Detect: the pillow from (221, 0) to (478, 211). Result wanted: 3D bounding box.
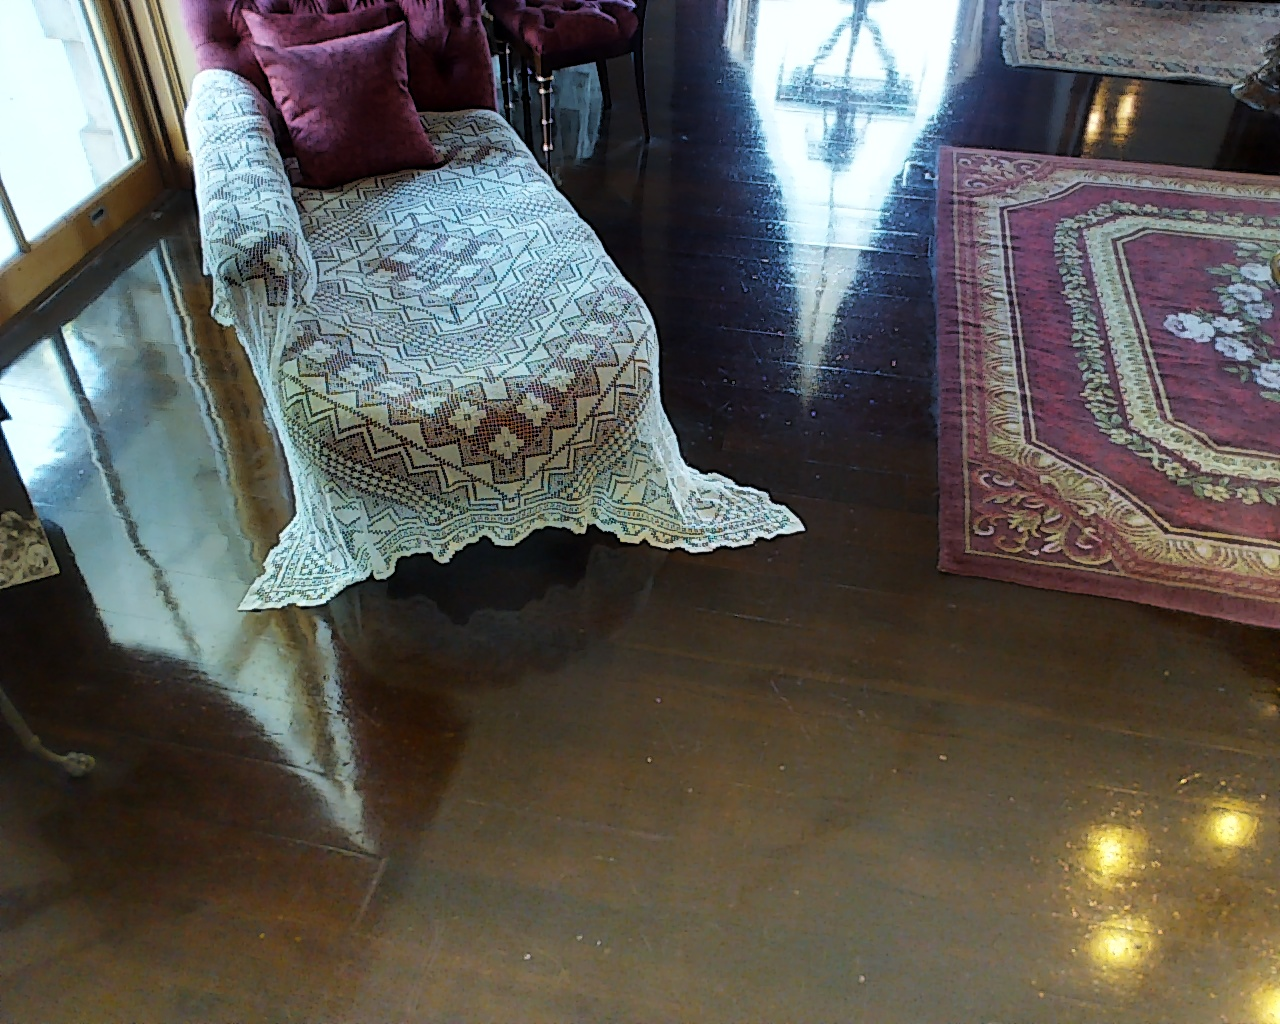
[{"bbox_3d":[-0.740,-1.120,2.770,0.380,0.490,0.350,-36,29,1],"label":"pillow"}]
